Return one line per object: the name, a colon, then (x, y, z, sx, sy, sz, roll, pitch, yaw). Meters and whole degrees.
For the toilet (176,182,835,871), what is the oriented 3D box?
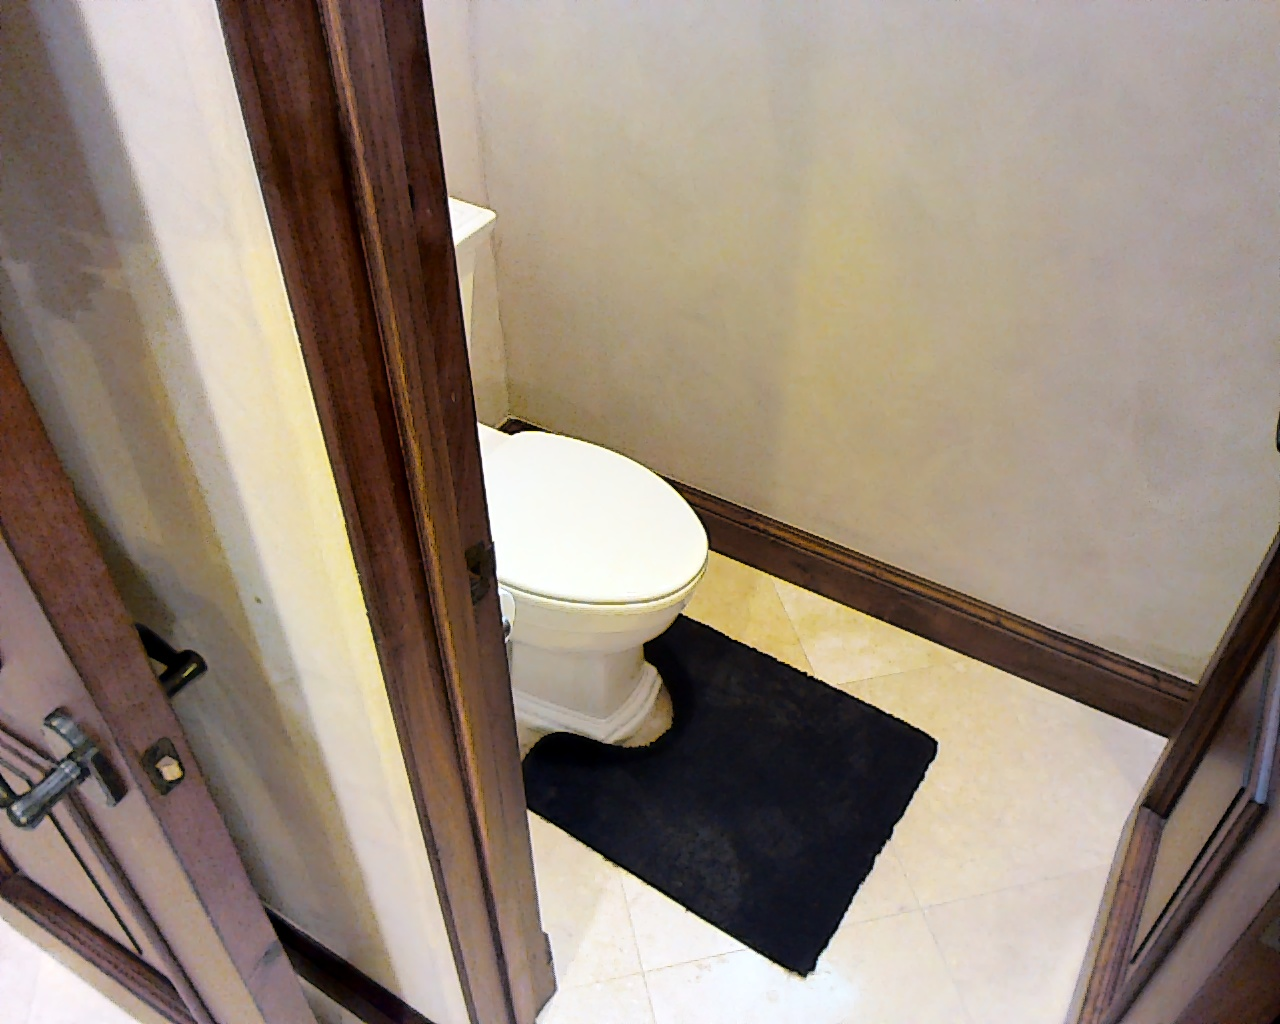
toilet: (-0.190, 0.000, 1.840, 0.790, 0.790, 0.560, 22, 46, 24)
